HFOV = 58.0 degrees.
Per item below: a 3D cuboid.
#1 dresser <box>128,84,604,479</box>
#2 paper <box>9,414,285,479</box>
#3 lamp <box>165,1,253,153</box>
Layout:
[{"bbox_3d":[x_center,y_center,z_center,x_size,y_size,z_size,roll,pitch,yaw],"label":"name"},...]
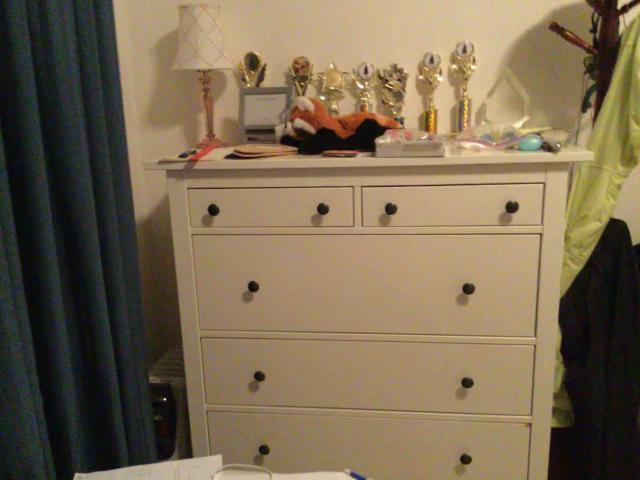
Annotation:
[{"bbox_3d":[0.140,0.320,1.780,1.120,1.480,0.550,0,13,10],"label":"dresser"},{"bbox_3d":[-0.330,0.450,1.100,0.460,0.050,0.320,0,13,10],"label":"paper"},{"bbox_3d":[-0.340,-0.500,1.820,0.180,0.430,0.210,0,13,10],"label":"lamp"}]
